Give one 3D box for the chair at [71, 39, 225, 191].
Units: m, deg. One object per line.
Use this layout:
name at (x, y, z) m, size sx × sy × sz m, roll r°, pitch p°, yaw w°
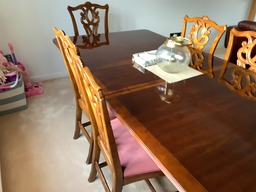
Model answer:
chair at (0.040, 0.220, 1.300) m, size 0.590 × 0.950 × 0.530 m, roll -10°, pitch 33°, yaw -20°
